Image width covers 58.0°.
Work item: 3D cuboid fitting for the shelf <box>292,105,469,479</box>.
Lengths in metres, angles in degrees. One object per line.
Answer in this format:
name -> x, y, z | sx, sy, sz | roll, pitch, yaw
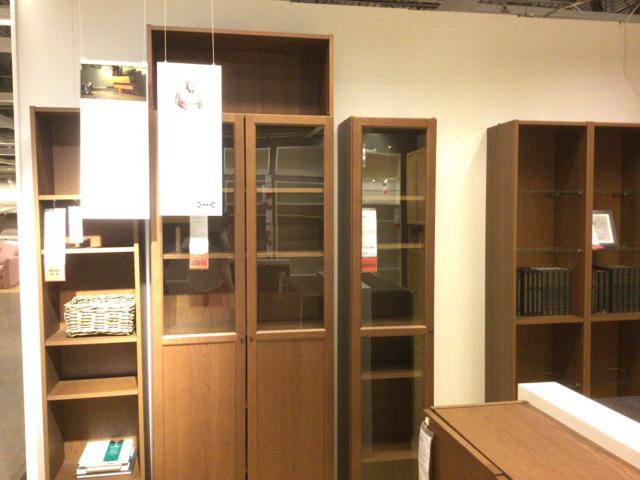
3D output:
shelf -> 0.320, 0.420, 2.650 | 0.430, 1.960, 0.300 | -15, 21, -5
